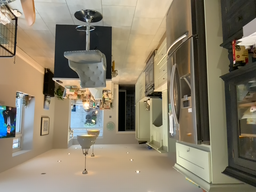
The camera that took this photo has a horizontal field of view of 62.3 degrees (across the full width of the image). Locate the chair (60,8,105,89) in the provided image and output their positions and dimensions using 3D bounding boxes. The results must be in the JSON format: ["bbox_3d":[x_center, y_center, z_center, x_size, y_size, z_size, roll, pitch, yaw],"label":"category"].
[{"bbox_3d":[-0.660,-0.670,3.190,0.440,1.030,0.530,-3,173,20],"label":"chair"}]

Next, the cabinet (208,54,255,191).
[{"bbox_3d":[1.080,0.190,1.480,0.530,0.900,1.080,0,174,-5],"label":"cabinet"}]

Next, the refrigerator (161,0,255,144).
[{"bbox_3d":[0.890,-0.370,2.650,0.700,1.790,1.000,0,174,-5],"label":"refrigerator"}]

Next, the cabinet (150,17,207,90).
[{"bbox_3d":[0.830,-0.670,3.920,0.580,0.930,1.410,0,174,-5],"label":"cabinet"}]
